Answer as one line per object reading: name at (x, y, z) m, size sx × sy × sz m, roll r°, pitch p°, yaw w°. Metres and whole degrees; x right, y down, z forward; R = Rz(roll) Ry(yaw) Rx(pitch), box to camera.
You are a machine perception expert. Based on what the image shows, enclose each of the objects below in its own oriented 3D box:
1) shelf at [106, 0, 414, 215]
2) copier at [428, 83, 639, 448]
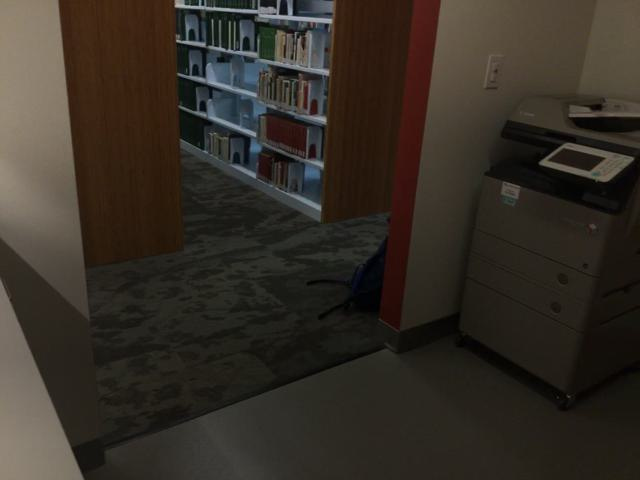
shelf at (-1.020, -1.620, 5.220) m, size 0.420 × 1.300 × 4.900 m, roll -12°, pitch 26°, yaw -32°
copier at (0.990, 0.010, 2.170) m, size 0.730 × 1.050 × 0.730 m, roll -12°, pitch 26°, yaw -32°
